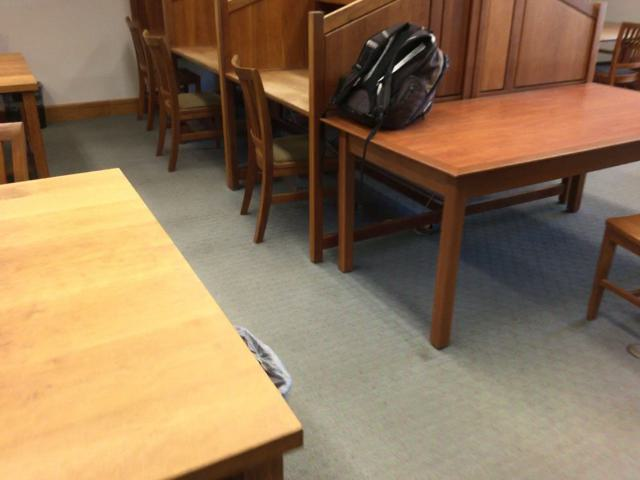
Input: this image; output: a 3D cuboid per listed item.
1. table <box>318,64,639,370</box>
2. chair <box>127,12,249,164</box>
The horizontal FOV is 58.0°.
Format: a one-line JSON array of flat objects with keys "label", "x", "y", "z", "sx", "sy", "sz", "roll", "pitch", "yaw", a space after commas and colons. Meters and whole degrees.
[{"label": "table", "x": 1.000, "y": -0.260, "z": 2.740, "sx": 1.760, "sy": 0.830, "sz": 0.960, "roll": -14, "pitch": 30, "yaw": -27}, {"label": "chair", "x": -0.940, "y": -1.120, "z": 4.180, "sx": 0.650, "sy": 0.920, "sz": 0.550, "roll": -14, "pitch": 30, "yaw": -27}]
